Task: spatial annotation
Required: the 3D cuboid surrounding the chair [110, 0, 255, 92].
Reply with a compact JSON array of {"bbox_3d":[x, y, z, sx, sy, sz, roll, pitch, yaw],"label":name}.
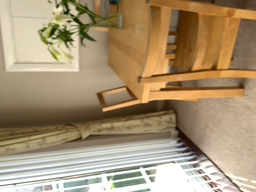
[{"bbox_3d":[0.390,-0.320,1.240,0.590,0.850,0.370,-128,39,-60],"label":"chair"}]
